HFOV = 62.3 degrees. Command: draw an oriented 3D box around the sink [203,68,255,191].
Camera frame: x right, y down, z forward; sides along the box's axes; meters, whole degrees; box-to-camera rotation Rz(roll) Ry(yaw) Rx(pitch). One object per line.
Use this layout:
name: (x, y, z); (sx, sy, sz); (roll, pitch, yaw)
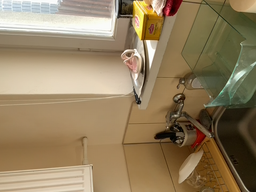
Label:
sink: (0.610, 0.190, 0.950); (0.410, 0.200, 0.480); (103, 161, -44)
